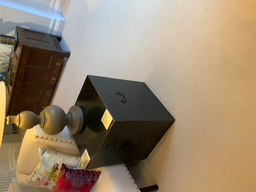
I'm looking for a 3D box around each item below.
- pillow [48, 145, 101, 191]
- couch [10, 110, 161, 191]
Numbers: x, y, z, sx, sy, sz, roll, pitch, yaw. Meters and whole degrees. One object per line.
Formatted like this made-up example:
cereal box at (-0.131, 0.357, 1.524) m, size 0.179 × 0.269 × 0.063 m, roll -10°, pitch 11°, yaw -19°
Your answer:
pillow at (-0.490, 0.780, 1.850) m, size 0.340 × 0.310 × 0.620 m, roll -103°, pitch 34°, yaw -51°
couch at (-0.450, 0.730, 1.930) m, size 0.900 × 0.880 × 0.810 m, roll 56°, pitch 128°, yaw 36°
